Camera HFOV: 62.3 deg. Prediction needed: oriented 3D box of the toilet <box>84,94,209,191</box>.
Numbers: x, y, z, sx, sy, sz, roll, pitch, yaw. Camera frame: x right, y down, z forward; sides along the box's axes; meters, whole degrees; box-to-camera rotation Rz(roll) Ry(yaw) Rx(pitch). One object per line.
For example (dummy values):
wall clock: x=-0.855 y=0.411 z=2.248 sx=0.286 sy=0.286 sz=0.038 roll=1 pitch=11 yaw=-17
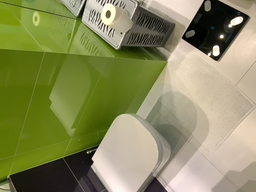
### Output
toilet: x=0.110 y=0.340 z=1.370 sx=0.400 sy=0.480 sz=0.540 roll=46 pitch=121 yaw=26
